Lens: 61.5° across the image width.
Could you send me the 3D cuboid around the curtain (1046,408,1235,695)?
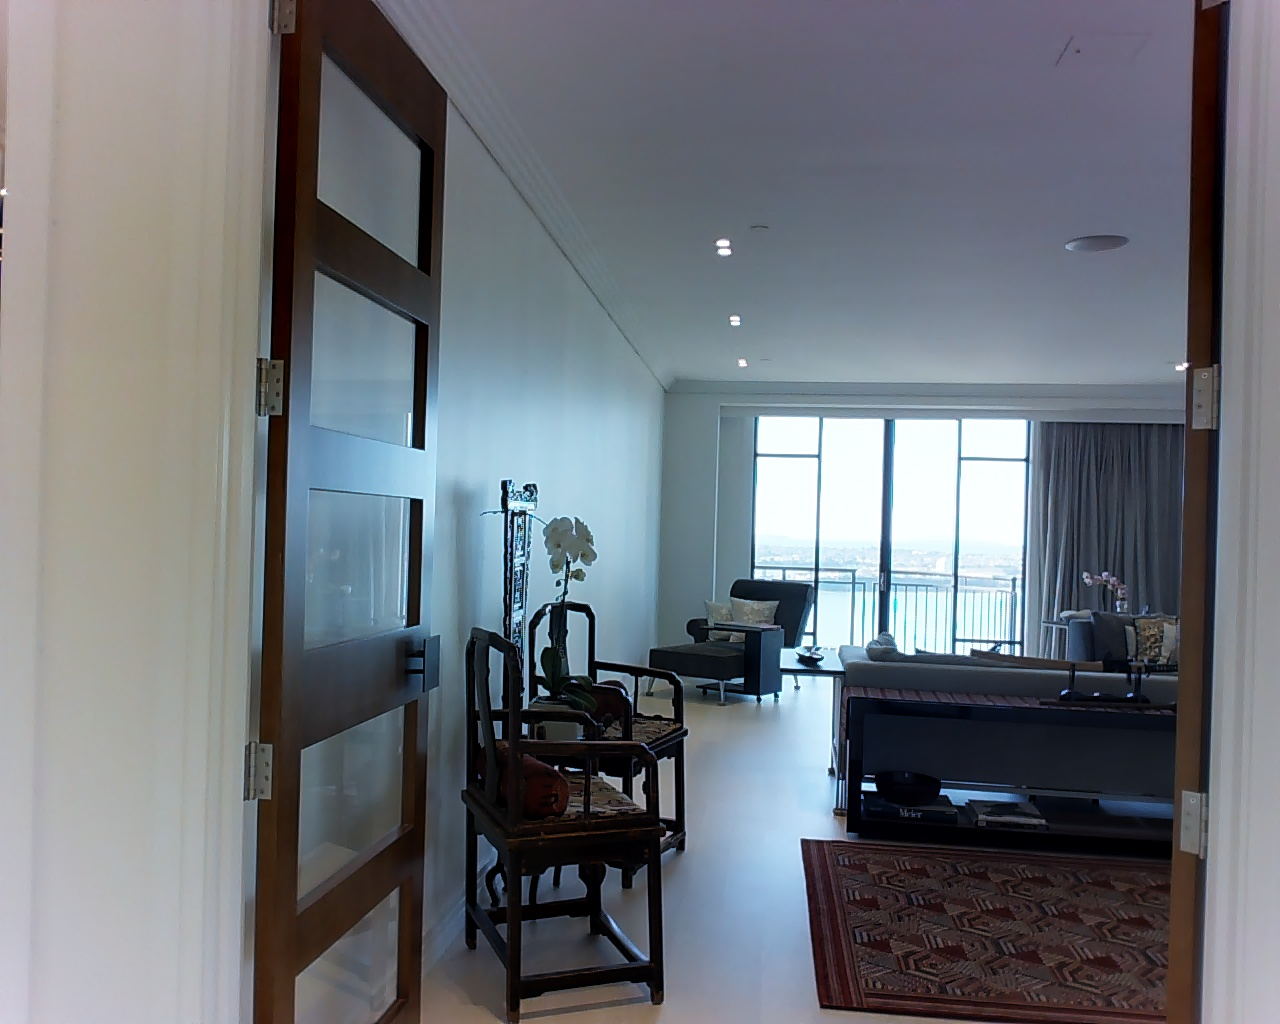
[{"bbox_3d":[4.559,0.340,9.880,1.510,2.571,0.290,1,-8,8],"label":"curtain"}]
